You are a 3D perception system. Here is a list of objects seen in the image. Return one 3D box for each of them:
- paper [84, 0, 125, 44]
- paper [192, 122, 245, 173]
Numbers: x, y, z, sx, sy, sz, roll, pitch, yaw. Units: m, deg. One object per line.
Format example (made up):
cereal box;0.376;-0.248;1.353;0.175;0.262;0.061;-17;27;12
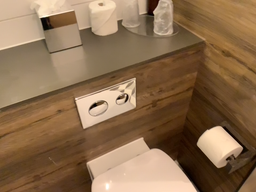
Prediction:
paper;-0.090;-0.300;0.840;0.120;0.120;0.110;-18;46;-17
paper;0.330;0.190;0.790;0.120;0.100;0.110;-21;47;-19
